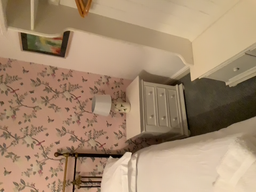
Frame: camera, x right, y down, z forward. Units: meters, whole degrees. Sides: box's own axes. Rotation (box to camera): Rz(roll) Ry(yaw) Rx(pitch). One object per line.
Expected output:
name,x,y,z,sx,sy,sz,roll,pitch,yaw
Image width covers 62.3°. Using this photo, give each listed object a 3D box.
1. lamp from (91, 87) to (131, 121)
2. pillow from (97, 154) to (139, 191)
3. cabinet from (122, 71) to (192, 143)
lamp,-0.190,0.100,2.360,0.240,0.370,0.280,139,135,-59
pillow,-0.110,0.910,1.980,0.470,0.240,0.670,140,133,-60
cabinet,0.310,0.160,2.480,0.450,0.630,0.670,140,134,-59
